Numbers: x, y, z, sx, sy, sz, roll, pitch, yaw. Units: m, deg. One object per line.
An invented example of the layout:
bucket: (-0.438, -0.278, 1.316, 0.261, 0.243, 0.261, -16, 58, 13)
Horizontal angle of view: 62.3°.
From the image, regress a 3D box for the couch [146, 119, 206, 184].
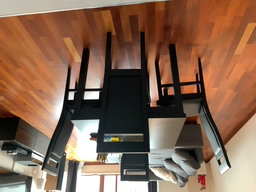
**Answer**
couch: (0.840, 1.300, 4.440, 0.870, 0.780, 2.360, -2, 152, 4)
